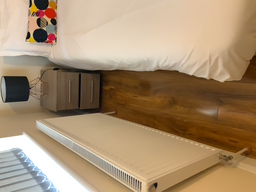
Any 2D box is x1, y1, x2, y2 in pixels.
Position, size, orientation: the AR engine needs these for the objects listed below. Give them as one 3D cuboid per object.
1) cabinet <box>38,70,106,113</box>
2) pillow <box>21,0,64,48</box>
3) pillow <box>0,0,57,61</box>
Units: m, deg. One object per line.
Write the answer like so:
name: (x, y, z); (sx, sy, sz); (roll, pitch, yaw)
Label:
cabinet: (-0.620, -0.070, 2.340); (0.490, 0.550, 0.390); (10, 100, 48)
pillow: (-0.780, -0.790, 1.980); (0.190, 0.330, 0.610); (-171, 84, -75)
pillow: (-0.970, -0.780, 2.020); (0.230, 0.540, 0.830); (-166, 79, -68)
